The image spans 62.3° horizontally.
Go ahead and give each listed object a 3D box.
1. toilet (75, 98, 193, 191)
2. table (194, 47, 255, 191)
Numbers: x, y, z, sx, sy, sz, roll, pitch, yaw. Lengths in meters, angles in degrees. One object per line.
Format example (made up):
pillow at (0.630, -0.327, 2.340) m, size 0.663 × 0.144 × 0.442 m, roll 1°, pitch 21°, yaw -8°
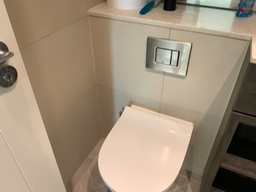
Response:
toilet at (0.060, 0.370, 1.100) m, size 0.370 × 0.430 × 0.500 m, roll 16°, pitch 40°, yaw 20°
table at (0.630, 0.210, 1.090) m, size 0.370 × 0.700 × 0.530 m, roll 16°, pitch 40°, yaw 19°
